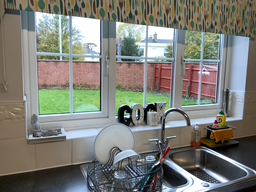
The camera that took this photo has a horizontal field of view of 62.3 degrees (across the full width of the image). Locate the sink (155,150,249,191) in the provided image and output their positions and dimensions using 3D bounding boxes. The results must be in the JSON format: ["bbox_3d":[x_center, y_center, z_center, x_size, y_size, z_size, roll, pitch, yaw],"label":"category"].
[{"bbox_3d":[0.440,0.510,1.340,0.340,0.140,0.440,-2,9,-26],"label":"sink"}]
